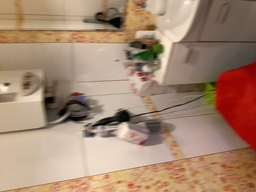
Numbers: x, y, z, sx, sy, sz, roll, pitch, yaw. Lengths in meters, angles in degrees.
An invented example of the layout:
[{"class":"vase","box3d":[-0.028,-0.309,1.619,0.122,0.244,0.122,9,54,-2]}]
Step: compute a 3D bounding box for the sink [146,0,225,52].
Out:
[{"class":"sink","box3d":[0.310,-0.580,1.190,0.480,0.180,0.500,-117,29,-51]}]
